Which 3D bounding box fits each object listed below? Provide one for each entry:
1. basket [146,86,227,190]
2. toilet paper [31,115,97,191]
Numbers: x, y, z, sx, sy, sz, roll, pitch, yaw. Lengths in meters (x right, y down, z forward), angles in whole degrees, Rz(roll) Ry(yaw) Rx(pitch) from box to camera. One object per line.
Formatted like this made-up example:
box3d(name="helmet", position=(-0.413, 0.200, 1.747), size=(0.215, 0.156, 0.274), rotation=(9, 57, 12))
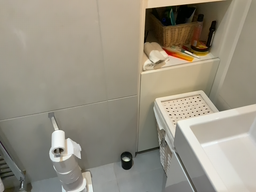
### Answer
box3d(name="basket", position=(0.310, 0.270, 1.310), size=(0.290, 0.540, 0.320), rotation=(-10, 42, -10))
box3d(name="toilet paper", position=(-0.310, 0.410, 1.150), size=(0.220, 0.570, 0.260), rotation=(-9, 43, -10))
